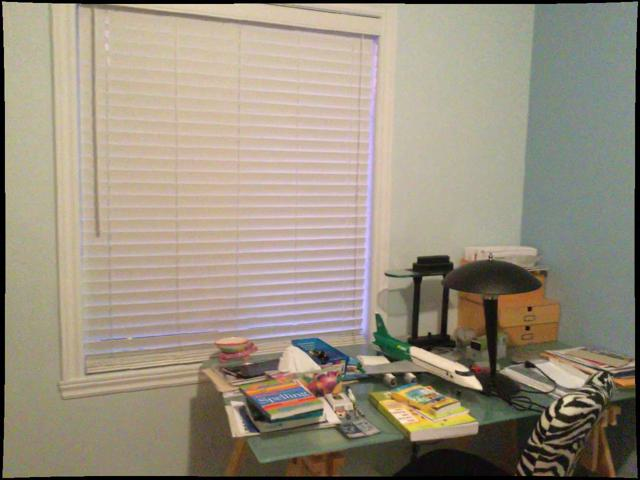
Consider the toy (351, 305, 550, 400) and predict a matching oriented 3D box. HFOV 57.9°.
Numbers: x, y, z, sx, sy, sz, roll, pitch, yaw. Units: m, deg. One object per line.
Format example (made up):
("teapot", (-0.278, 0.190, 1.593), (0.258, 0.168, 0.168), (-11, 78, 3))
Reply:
("toy", (0.450, 0.380, 2.090), (0.420, 0.100, 0.570), (-5, 11, -31))
